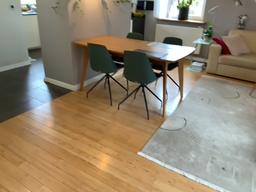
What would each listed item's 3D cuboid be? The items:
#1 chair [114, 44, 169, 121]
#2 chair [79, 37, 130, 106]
[{"bbox_3d":[0.170,-0.200,2.790,0.480,0.800,0.520,17,29,26],"label":"chair"},{"bbox_3d":[-0.330,-0.380,3.080,0.480,0.810,0.510,17,29,26],"label":"chair"}]
